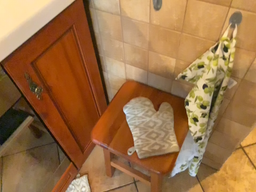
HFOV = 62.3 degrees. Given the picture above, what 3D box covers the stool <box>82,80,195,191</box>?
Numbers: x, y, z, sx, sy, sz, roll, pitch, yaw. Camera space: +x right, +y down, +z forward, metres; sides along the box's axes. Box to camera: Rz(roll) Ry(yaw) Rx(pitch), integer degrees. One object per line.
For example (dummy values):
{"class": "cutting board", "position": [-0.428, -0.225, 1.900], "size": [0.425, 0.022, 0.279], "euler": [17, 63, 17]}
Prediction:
{"class": "stool", "position": [0.050, 0.220, 0.940], "size": [0.320, 0.440, 0.270], "euler": [22, 57, 18]}
